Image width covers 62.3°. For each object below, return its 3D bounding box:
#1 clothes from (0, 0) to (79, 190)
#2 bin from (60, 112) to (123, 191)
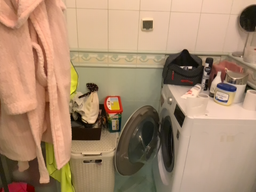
[{"bbox_3d":[-0.490,-0.160,0.900,0.470,1.140,0.340,0,24,-7],"label":"clothes"},{"bbox_3d":[-0.240,0.510,1.570,0.360,0.630,0.480,1,24,-5],"label":"bin"}]
